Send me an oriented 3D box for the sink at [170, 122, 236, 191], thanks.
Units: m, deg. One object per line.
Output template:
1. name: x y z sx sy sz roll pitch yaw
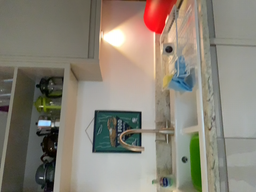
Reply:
1. sink: 0.350 0.350 1.080 0.430 0.150 0.380 106 166 -76

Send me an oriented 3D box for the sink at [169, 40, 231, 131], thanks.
1. sink: 0.360 -0.020 1.160 0.430 0.150 0.390 106 166 -76
